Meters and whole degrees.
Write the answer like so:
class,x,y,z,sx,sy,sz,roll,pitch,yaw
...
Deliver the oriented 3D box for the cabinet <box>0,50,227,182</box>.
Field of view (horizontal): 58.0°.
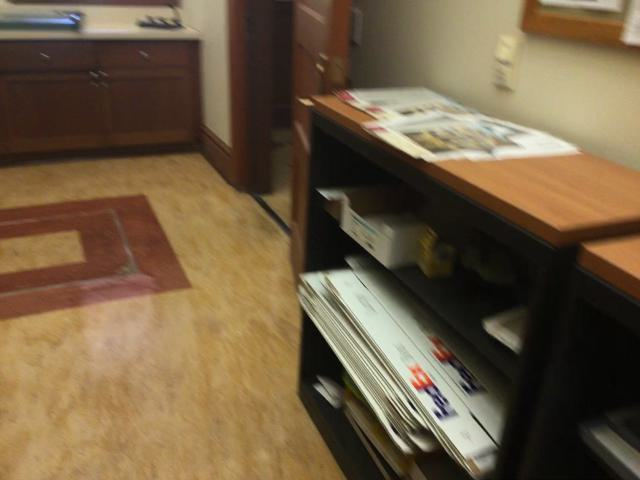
class,x,y,z,sx,sy,sz,roll,pitch,yaw
cabinet,-1.570,-0.800,3.750,1.920,0.780,0.160,-6,26,-23
